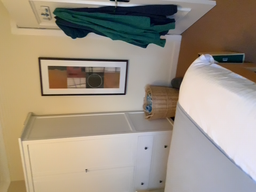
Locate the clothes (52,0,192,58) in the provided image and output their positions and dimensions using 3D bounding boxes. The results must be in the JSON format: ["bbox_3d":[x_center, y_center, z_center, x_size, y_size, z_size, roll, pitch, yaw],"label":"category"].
[{"bbox_3d":[-0.090,-0.680,2.310,0.680,1.320,0.290,142,125,-73],"label":"clothes"}]
